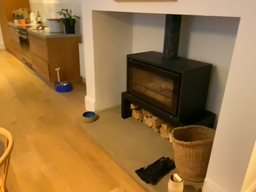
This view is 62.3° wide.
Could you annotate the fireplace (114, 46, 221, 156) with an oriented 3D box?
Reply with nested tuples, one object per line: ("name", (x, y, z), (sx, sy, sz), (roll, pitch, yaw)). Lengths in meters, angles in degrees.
("fireplace", (0.340, -0.030, 2.350), (0.510, 0.820, 1.010), (-16, 29, -35))
